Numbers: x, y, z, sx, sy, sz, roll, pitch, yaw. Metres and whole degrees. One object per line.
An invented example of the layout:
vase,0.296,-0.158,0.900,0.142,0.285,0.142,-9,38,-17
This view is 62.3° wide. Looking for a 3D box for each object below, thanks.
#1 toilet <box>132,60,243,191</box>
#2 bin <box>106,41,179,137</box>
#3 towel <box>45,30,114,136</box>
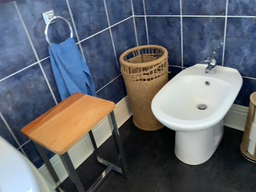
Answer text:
toilet,0.360,0.120,1.220,0.370,0.410,0.550,16,41,34
bin,0.130,-0.060,1.470,0.270,0.490,0.390,18,43,36
towel,-0.240,-0.060,1.180,0.100,0.540,0.230,18,42,36
